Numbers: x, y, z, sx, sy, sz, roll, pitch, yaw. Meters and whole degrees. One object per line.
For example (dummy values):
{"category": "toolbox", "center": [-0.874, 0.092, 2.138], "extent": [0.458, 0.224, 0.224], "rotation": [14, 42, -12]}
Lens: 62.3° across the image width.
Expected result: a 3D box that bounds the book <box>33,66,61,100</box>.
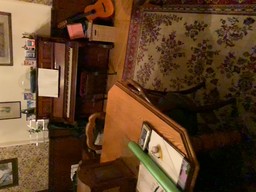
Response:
{"category": "book", "center": [-1.300, -0.200, 3.420], "extent": [0.050, 0.320, 0.520], "rotation": [37, 113, 54]}
